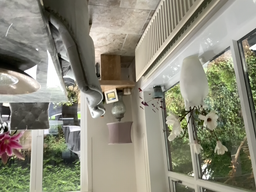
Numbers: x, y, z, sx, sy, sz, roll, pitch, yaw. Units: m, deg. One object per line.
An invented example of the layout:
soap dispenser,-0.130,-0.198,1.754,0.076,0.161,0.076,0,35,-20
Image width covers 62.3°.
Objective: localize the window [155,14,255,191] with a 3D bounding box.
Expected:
window,0.730,0.360,1.670,0.140,1.470,2.140,0,167,-14
